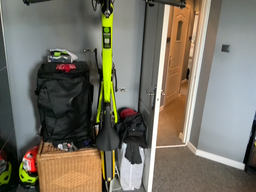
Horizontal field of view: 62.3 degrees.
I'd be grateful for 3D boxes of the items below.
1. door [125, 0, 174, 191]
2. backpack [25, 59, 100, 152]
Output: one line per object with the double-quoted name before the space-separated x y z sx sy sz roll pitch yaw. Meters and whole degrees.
"door" 0.150 -0.050 2.250 0.090 2.040 0.950 0 18 -12
"backpack" -0.550 0.080 1.900 0.560 0.760 0.300 0 18 -10
